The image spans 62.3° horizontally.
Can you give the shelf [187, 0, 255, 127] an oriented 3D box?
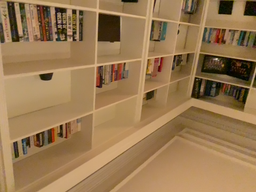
[{"bbox_3d":[1.690,-0.610,2.690,1.390,1.890,0.510,19,-157,33],"label":"shelf"}]
